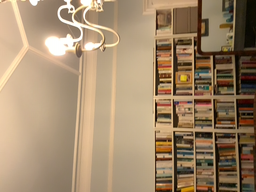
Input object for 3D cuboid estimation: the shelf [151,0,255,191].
[{"bbox_3d":[1.330,0.020,2.700,0.320,2.020,2.420,27,-117,-78],"label":"shelf"}]
